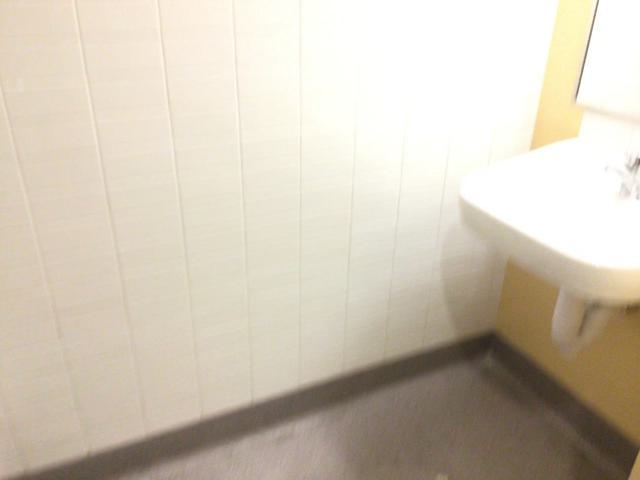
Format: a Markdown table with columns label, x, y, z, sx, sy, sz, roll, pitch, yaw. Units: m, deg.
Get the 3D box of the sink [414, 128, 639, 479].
| label | x | y | z | sx | sy | sz | roll | pitch | yaw |
| --- | --- | --- | --- | --- | --- | --- | --- | --- | --- |
| sink | 0.610 | 0.090 | 1.350 | 0.470 | 0.510 | 0.590 | -11 | 30 | -24 |
